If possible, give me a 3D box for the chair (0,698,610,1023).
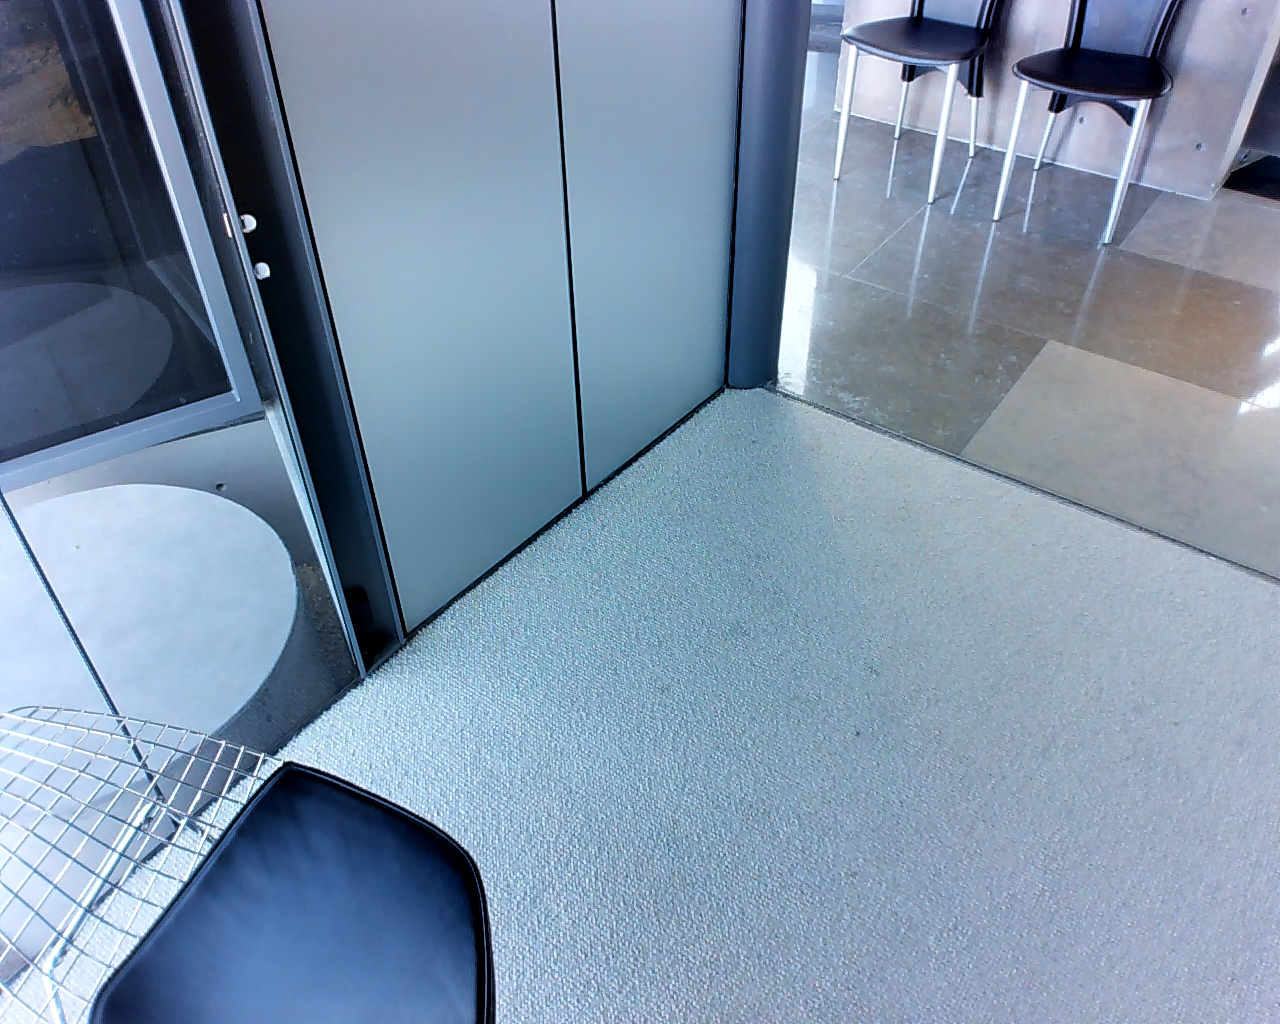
[{"bbox_3d":[-0.380,0.640,1.390,0.550,0.490,0.510,8,43,11],"label":"chair"}]
